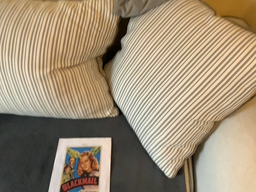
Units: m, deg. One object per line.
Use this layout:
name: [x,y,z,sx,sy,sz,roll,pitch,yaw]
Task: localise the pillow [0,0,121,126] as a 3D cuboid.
pillow: [-0.370,-0.150,0.840,0.650,0.400,0.340,4,53,0]
